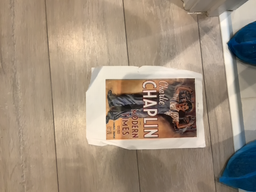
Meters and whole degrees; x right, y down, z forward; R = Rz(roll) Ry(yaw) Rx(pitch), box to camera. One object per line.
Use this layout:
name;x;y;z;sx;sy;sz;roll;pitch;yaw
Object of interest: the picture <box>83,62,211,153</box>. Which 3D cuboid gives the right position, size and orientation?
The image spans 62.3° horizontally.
picture;0.050;0.030;0.530;0.310;0.040;0.210;1;87;-6
